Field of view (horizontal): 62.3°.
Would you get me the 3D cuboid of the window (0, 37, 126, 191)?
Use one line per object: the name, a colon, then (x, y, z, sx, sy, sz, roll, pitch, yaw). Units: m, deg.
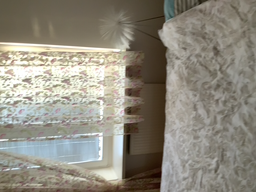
window: (-0.860, 0.230, 2.210, 0.300, 1.600, 1.570, -149, 60, -68)
